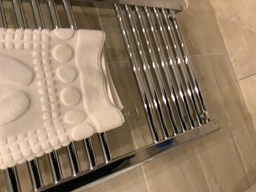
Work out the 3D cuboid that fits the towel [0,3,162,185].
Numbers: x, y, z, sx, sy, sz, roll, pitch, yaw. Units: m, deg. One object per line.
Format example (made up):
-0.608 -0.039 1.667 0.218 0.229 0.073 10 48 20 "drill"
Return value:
-0.140 -0.020 0.450 0.120 0.370 0.290 -24 80 54 "towel"
